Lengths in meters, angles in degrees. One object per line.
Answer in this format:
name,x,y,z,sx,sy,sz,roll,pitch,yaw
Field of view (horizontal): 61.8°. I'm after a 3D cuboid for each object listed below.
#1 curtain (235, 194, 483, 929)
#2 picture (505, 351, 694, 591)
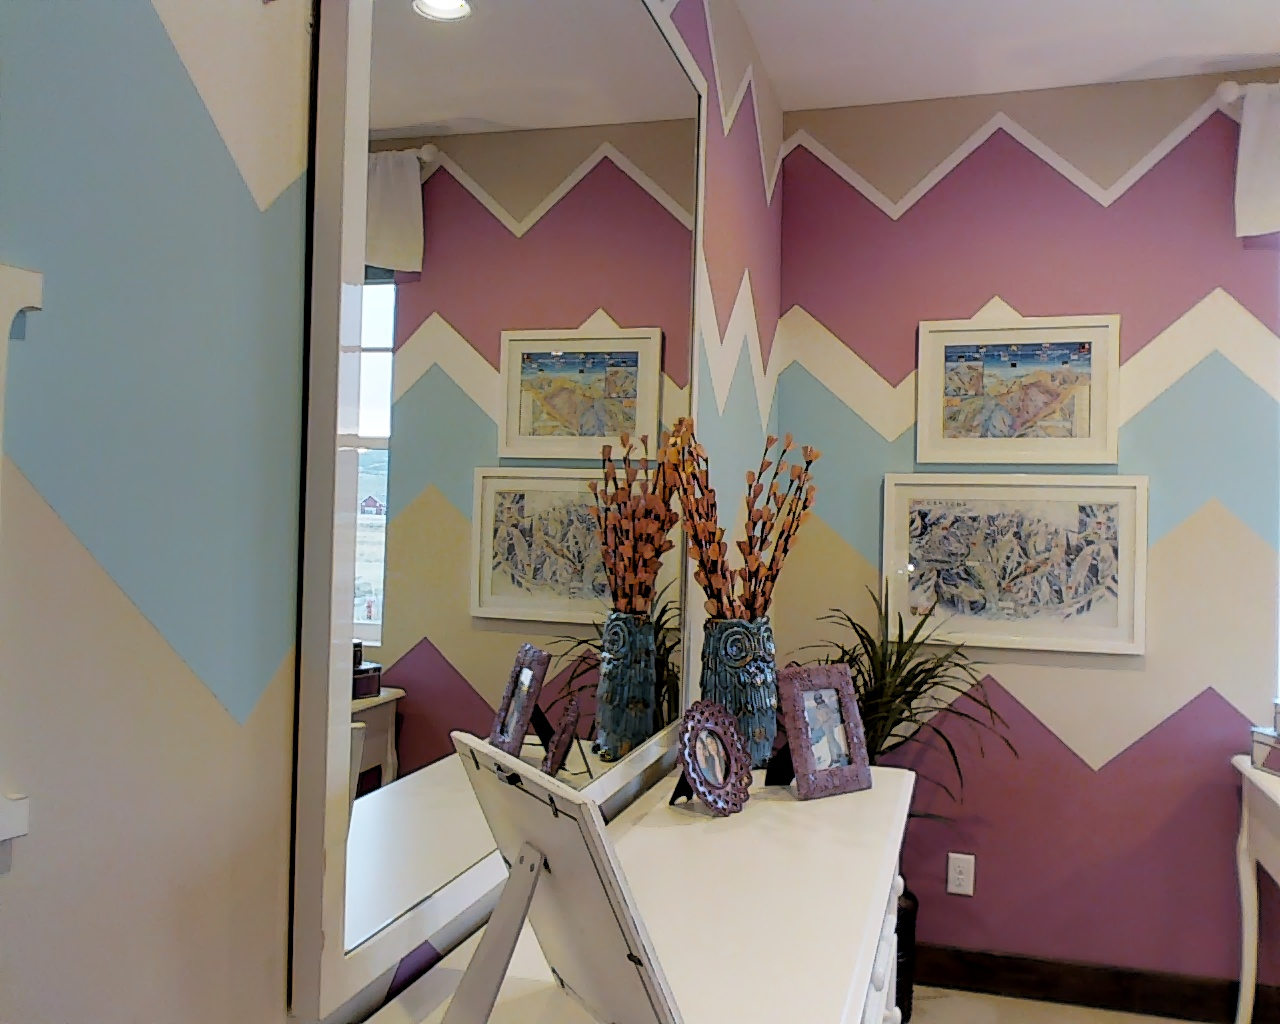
curtain,-0.970,0.150,3.710,0.720,2.390,0.270,2,-1,17
picture,-0.140,-0.140,3.540,0.620,0.770,0.040,2,-1,17
